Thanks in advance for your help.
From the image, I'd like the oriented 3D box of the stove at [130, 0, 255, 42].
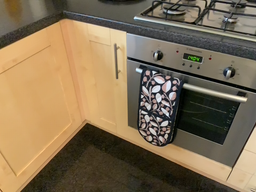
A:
[{"bbox_3d":[0.400,-0.400,0.950,0.600,0.030,0.540,19,44,22],"label":"stove"}]
